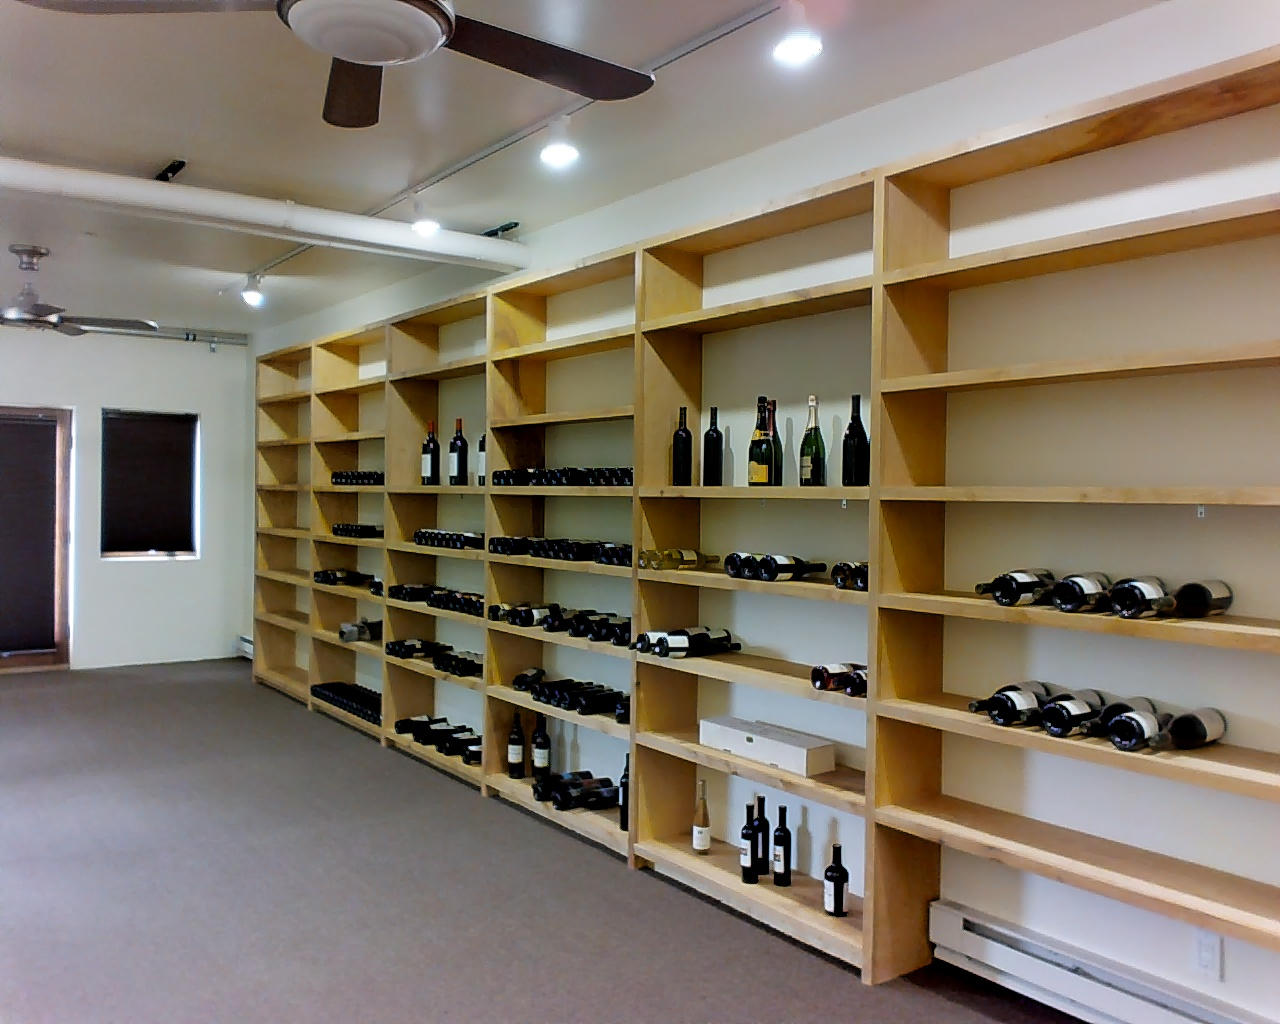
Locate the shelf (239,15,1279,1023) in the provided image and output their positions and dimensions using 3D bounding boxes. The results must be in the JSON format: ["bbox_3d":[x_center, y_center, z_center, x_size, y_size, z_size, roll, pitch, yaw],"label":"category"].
[{"bbox_3d":[-0.270,0.140,4.670,0.380,2.451,8.499,1,1,-37],"label":"shelf"}]
